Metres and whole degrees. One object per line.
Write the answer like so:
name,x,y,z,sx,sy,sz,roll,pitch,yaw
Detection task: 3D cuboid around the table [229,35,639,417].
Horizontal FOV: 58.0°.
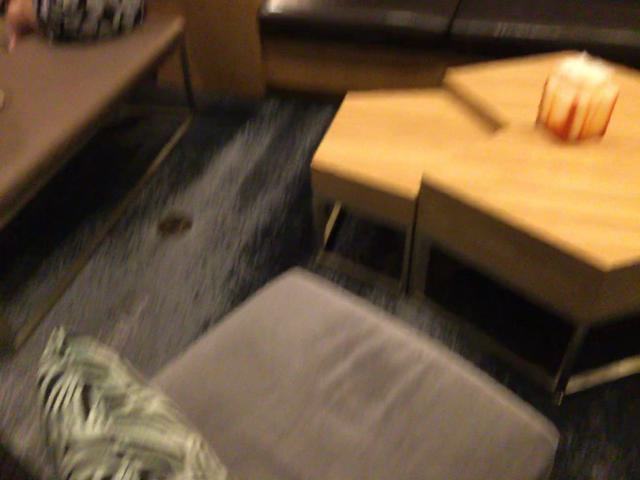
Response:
table,0.750,-0.160,1.810,1.600,0.500,1.220,9,41,20

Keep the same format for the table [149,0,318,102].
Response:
table,-0.420,-1.110,3.030,0.560,0.550,0.580,5,40,22
